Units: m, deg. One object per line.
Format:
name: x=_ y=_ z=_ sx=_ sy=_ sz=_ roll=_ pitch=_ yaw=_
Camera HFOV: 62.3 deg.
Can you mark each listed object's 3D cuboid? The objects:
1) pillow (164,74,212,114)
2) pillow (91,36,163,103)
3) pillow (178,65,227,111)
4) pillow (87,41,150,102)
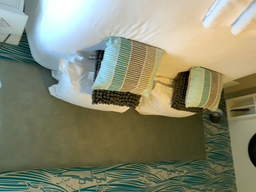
pillow: x=0.600 y=-0.010 z=2.100 sx=0.450 sy=0.330 sz=0.130 roll=8 pitch=-170 yaw=-36
pillow: x=0.000 y=-0.160 z=1.400 sx=0.400 sy=0.350 sz=0.130 roll=8 pitch=-169 yaw=-37
pillow: x=0.690 y=-0.060 z=1.940 sx=0.410 sy=0.350 sz=0.130 roll=8 pitch=-173 yaw=-35
pillow: x=-0.060 y=-0.160 z=1.500 sx=0.370 sy=0.360 sz=0.100 roll=8 pitch=-168 yaw=-36
